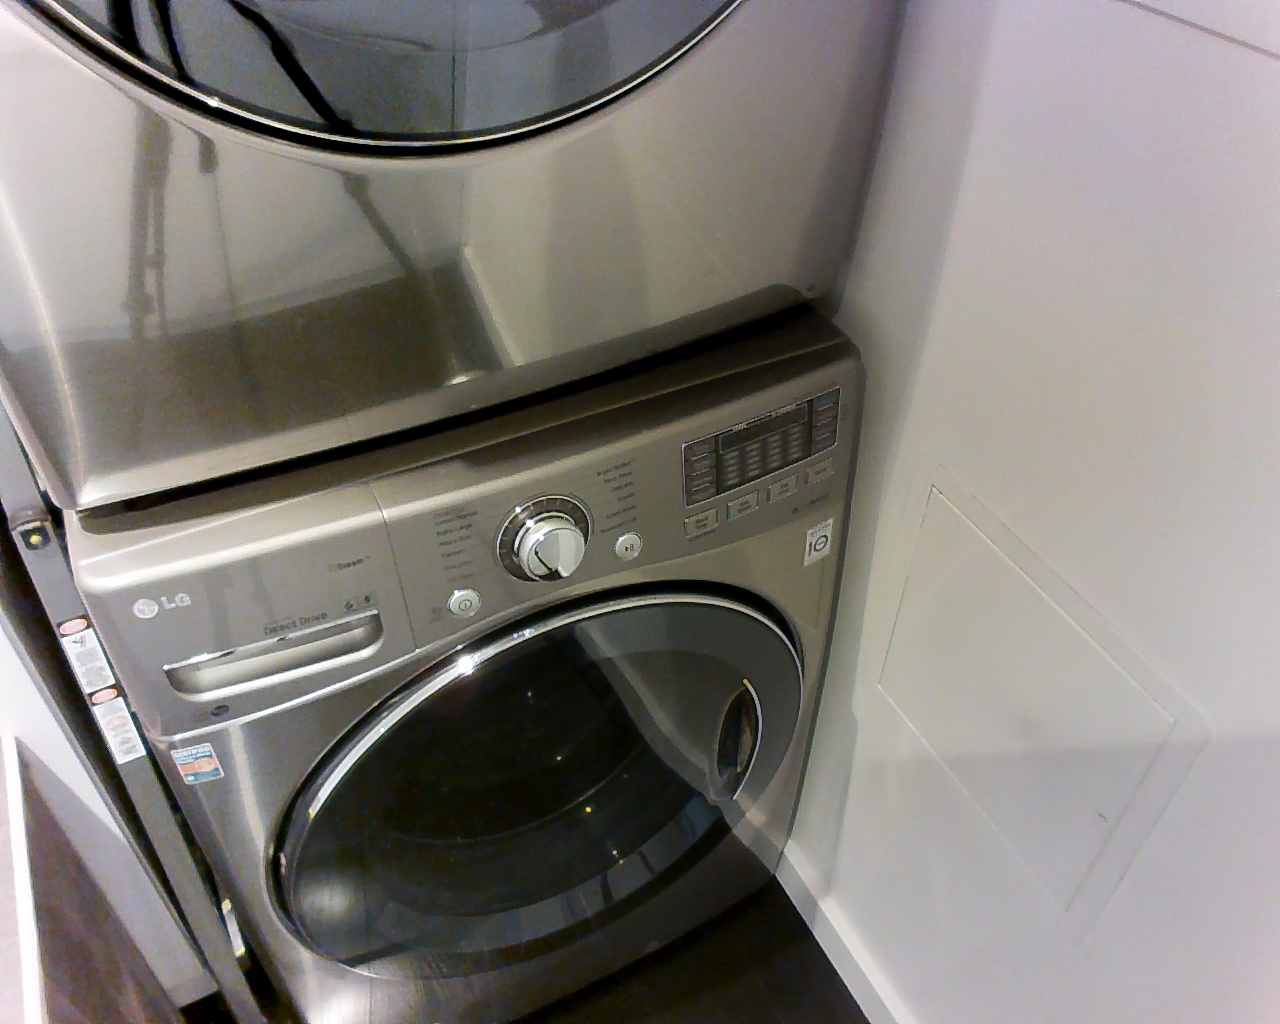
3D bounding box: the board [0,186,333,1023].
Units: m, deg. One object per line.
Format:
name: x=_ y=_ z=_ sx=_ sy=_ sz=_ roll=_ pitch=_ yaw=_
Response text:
board: x=-0.560 y=0.230 z=1.200 sx=0.140 sy=1.140 sz=0.290 roll=-19 pitch=46 yaw=-20
